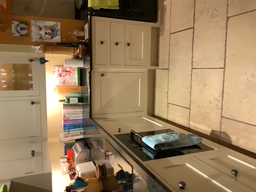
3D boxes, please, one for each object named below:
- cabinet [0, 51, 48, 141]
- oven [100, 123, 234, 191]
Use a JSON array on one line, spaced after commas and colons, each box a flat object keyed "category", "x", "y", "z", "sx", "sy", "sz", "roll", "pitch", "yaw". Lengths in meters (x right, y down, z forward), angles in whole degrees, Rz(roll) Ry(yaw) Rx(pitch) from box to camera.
[{"category": "cabinet", "x": -1.470, "y": -0.010, "z": 2.450, "sx": 0.380, "sy": 0.970, "sz": 0.970, "roll": -163, "pitch": 72, "yaw": -66}, {"category": "oven", "x": 0.280, "y": 0.650, "z": 1.830, "sx": 0.670, "sy": 0.890, "sz": 0.620, "roll": -160, "pitch": 70, "yaw": -66}]
